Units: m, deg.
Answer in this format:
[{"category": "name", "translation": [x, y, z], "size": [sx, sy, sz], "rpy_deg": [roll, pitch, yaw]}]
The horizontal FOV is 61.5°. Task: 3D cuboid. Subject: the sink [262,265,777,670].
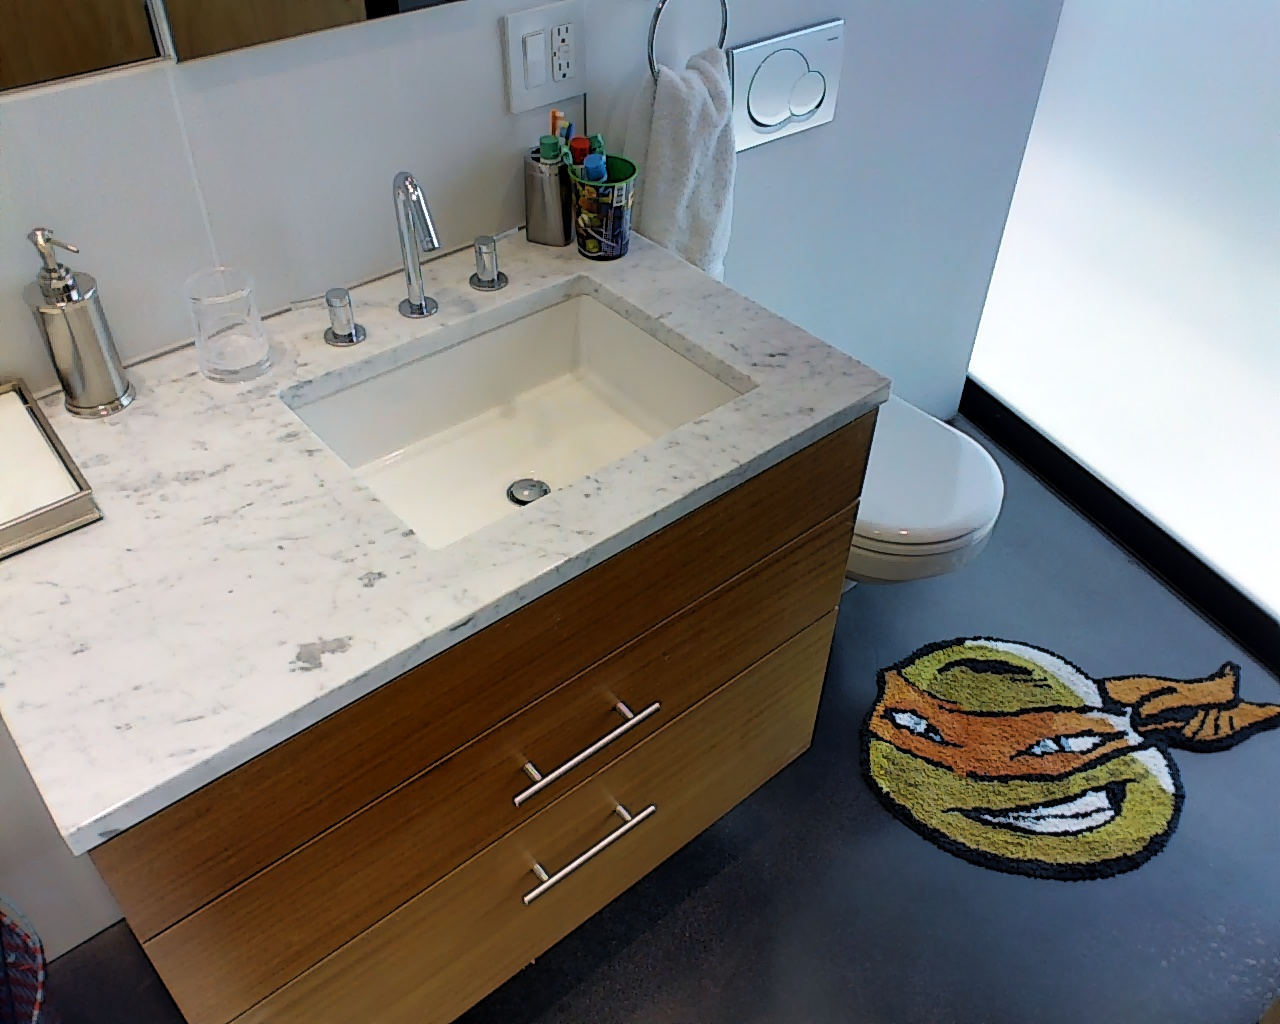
[{"category": "sink", "translation": [-0.130, -0.080, 1.240], "size": [0.460, 0.160, 0.330], "rpy_deg": [-28, 49, -29]}]
